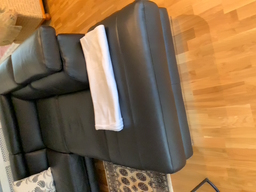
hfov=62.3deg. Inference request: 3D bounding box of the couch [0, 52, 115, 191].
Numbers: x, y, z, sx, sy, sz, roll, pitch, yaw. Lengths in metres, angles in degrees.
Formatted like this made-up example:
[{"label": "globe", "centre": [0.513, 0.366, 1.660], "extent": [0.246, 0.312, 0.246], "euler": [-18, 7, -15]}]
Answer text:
[{"label": "couch", "centre": [-0.830, 1.070, 2.590], "extent": [1.070, 0.790, 2.940], "euler": [-8, 95, 48]}]
